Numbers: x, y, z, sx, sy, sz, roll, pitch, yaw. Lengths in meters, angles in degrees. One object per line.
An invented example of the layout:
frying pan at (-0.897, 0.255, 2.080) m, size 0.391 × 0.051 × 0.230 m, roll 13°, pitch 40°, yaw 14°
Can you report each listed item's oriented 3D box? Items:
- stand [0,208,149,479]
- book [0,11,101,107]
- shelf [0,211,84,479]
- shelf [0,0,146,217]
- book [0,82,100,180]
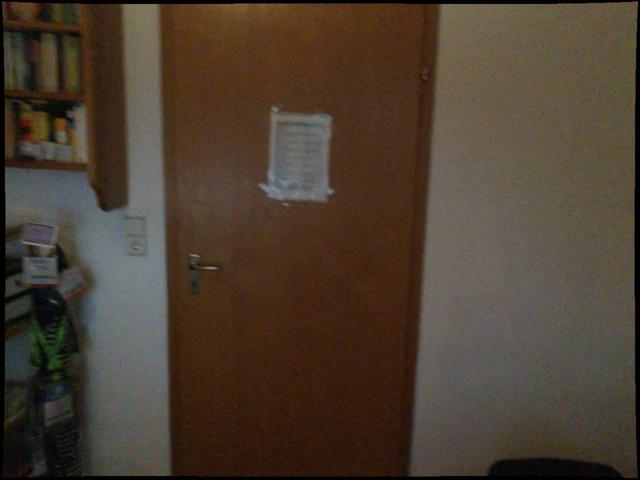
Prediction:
stand at (-0.909, 0.521, 2.100) m, size 0.410 × 1.191 × 0.340 m, roll 7°, pitch 13°, yaw 0°
book at (-1.059, -0.591, 1.830) m, size 0.669 × 0.250 × 0.140 m, roll 7°, pitch 13°, yaw 0°
shelf at (-1.219, 0.501, 2.060) m, size 0.549 × 1.151 × 0.410 m, roll 7°, pitch 13°, yaw 0°
shelf at (-1.019, -0.591, 1.890) m, size 0.779 × 0.901 × 0.310 m, roll 7°, pitch 13°, yaw 0°
book at (-1.079, -0.380, 1.900) m, size 0.629 × 0.270 × 0.190 m, roll 7°, pitch 13°, yaw 0°
